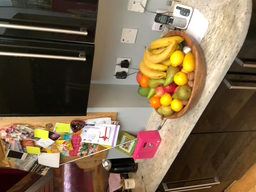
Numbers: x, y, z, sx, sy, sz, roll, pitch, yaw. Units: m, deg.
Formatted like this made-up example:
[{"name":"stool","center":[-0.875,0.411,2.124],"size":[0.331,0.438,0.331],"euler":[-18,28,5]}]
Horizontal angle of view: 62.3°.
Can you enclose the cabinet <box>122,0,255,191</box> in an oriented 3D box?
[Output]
[{"name":"cabinet","center":[0.610,0.190,1.510],"size":[0.520,0.890,1.710],"euler":[-109,26,-45]}]

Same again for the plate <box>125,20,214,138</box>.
[{"name":"plate","center":[0.160,-0.080,1.090],"size":[0.370,0.190,0.460],"euler":[-107,25,-45]}]
